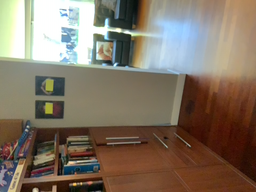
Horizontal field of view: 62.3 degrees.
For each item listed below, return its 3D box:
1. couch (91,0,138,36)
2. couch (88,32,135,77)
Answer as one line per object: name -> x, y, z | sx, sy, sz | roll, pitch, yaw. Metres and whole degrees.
couch -> -0.340, -1.980, 4.980 | 0.870, 0.850, 0.930 | -146, 61, -69
couch -> -0.450, -0.990, 5.170 | 0.970, 0.850, 0.900 | -146, 61, -69
